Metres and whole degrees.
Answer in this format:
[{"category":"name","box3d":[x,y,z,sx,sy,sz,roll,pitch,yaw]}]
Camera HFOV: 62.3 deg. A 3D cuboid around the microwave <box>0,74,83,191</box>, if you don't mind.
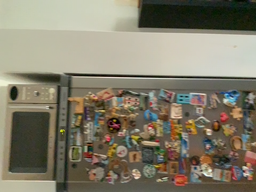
[{"category":"microwave","box3d":[-0.530,0.210,1.420,0.630,0.310,0.620,126,145,-87]}]
